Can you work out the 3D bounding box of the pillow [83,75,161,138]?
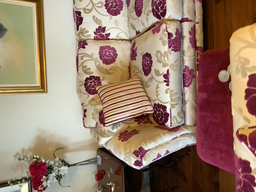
[{"bbox_3d":[-0.040,0.060,1.710,0.470,0.390,0.200,43,114,24],"label":"pillow"}]
